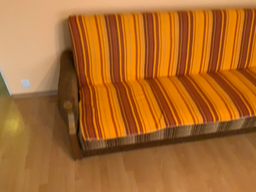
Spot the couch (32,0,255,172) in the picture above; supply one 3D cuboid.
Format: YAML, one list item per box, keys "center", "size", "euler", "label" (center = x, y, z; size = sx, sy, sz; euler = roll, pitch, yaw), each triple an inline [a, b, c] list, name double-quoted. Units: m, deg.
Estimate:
- center: [0.510, -0.200, 1.870]
  size: [2.200, 0.940, 1.000]
  euler: [-6, 41, -9]
  label: "couch"
